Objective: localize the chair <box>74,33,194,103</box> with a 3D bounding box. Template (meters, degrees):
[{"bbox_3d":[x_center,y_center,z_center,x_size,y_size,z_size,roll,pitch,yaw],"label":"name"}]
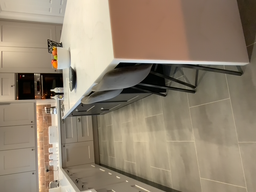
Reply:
[{"bbox_3d":[0.030,-0.220,1.900,0.460,0.920,0.430,147,118,-64],"label":"chair"}]
